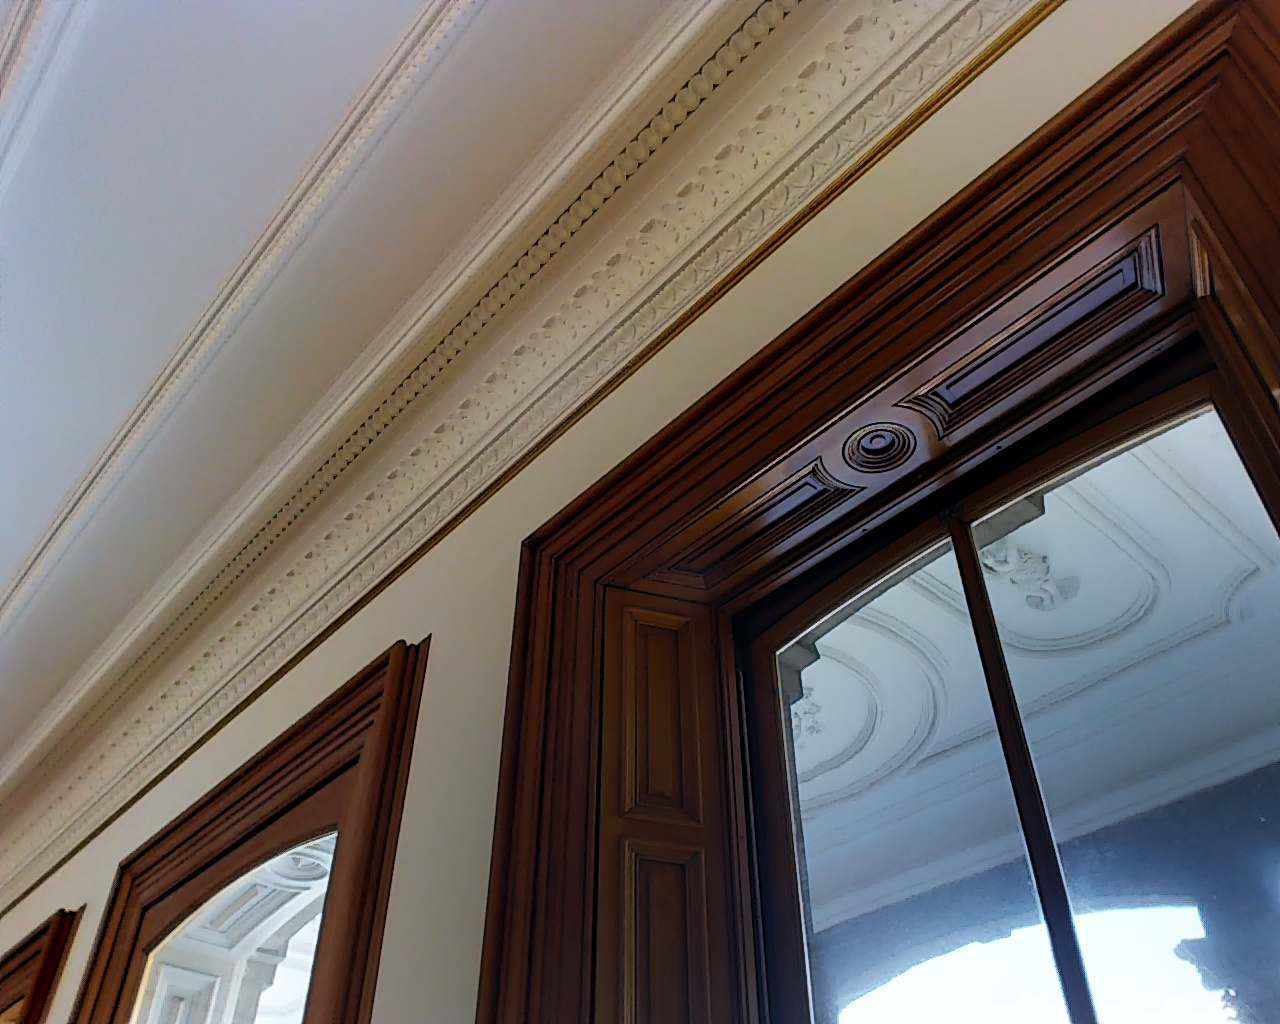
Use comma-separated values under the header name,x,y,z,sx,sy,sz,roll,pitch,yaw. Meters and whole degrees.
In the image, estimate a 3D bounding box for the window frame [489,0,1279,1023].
name,x,y,z,sx,sy,sz,roll,pitch,yaw
window frame,0.520,0.920,1.360,0.460,3.461,1.950,29,-49,-30
